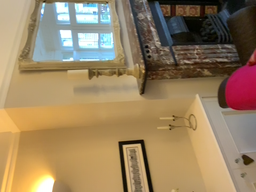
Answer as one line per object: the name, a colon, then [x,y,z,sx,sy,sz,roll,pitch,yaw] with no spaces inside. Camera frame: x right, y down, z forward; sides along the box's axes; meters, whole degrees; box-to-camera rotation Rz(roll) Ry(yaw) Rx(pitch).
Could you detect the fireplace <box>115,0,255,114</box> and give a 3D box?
fireplace: [0.600,-0.860,2.320,0.860,1.280,1.840,98,165,-54]
